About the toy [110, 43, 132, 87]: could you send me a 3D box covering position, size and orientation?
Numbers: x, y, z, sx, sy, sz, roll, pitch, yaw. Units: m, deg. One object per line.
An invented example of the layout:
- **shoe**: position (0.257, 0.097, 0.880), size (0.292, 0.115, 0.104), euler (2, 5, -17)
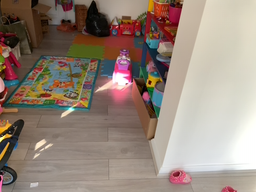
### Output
- **toy**: position (-0.090, -0.420, 2.820), size (0.210, 0.370, 0.530), euler (7, 33, 0)
